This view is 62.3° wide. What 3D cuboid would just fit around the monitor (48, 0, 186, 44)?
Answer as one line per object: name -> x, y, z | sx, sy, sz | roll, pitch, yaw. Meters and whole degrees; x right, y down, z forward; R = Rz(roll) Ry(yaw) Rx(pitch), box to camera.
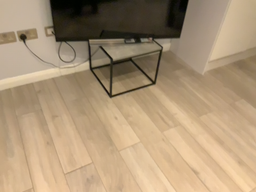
monitor -> -0.060, -0.740, 1.700 | 1.090, 0.630, 0.070 | -5, 43, -13
